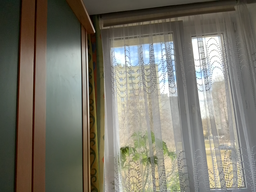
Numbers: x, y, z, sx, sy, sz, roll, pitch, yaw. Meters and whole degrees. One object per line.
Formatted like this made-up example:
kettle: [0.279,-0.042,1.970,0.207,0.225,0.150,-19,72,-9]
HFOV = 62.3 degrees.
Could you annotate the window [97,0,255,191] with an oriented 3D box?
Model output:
window: [0.390,0.100,1.570,1.140,1.640,0.220,-4,-8,4]
